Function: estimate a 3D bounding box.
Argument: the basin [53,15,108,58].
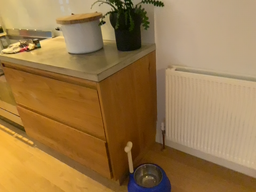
[{"bbox_3d":[-0.330,-0.440,1.540,0.220,0.230,0.280,14,34,33],"label":"basin"}]

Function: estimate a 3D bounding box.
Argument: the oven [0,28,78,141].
[{"bbox_3d":[-1.230,-0.200,2.420,0.860,0.950,0.720,15,34,33],"label":"oven"}]
